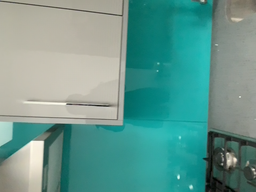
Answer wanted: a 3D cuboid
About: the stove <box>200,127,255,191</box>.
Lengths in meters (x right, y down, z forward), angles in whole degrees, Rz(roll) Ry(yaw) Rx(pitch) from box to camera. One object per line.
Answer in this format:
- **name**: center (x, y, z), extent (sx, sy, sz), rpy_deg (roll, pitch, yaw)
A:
- **stove**: center (0.470, 0.470, 0.930), extent (0.540, 0.030, 0.590), rpy_deg (176, 97, -80)
